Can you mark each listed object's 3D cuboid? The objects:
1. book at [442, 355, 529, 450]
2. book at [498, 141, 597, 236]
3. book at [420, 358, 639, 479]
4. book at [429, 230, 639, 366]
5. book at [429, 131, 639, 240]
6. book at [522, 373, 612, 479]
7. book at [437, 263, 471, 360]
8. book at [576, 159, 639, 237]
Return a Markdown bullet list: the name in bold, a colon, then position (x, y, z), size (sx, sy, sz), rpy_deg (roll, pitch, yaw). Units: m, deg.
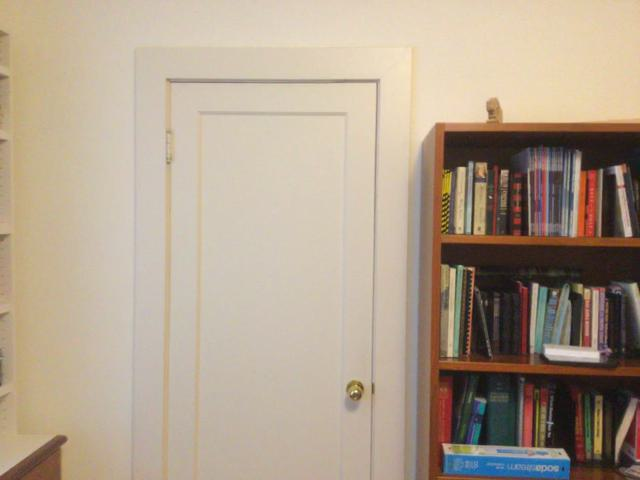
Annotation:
- **book**: position (0.530, 0.520, 1.890), size (0.200, 0.220, 0.300), rpy_deg (1, 0, 1)
- **book**: position (0.700, -0.150, 1.810), size (0.190, 0.270, 0.300), rpy_deg (1, 0, 1)
- **book**: position (0.690, 0.570, 1.890), size (0.680, 0.300, 0.260), rpy_deg (1, 0, 1)
- **book**: position (0.710, 0.170, 1.840), size (0.670, 0.390, 0.270), rpy_deg (1, 0, 1)
- **book**: position (0.690, -0.160, 1.830), size (0.640, 0.310, 0.260), rpy_deg (1, 0, 1)
- **book**: position (0.770, 0.580, 1.830), size (0.150, 0.240, 0.310), rpy_deg (1, 0, 1)
- **book**: position (0.400, 0.210, 1.730), size (0.080, 0.280, 0.070), rpy_deg (1, 0, 1)
- **book**: position (0.890, -0.120, 1.740), size (0.150, 0.220, 0.190), rpy_deg (1, 0, 1)
